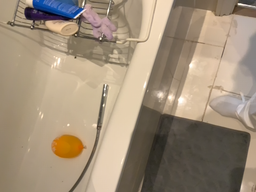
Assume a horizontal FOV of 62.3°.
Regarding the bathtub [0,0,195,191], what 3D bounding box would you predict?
[{"bbox_3d":[-0.330,0.240,0.960,0.770,0.540,1.750,17,89,17],"label":"bathtub"}]
